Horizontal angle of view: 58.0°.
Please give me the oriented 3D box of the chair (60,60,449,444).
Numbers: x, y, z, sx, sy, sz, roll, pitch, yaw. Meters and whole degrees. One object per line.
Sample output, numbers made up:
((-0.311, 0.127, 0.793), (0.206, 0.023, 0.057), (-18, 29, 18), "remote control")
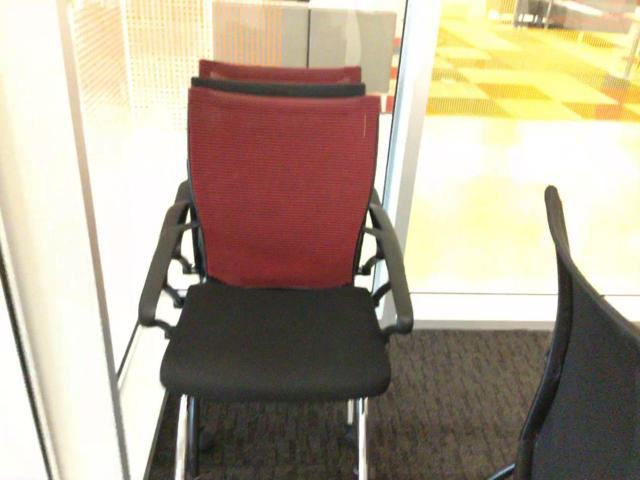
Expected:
((-0.100, -0.060, 1.470), (0.630, 0.600, 0.900), (2, 27, 1), "chair")

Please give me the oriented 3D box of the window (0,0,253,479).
((-0.490, 0.020, 0.630), (0.380, 1.900, 2.890), (2, 27, 1), "window")
